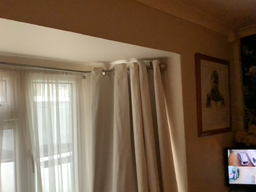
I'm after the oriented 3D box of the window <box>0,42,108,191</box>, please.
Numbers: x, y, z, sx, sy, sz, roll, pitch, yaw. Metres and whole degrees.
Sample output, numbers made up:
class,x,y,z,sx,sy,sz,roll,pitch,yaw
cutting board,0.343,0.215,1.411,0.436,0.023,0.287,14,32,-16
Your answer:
class,x,y,z,sx,sy,sz,roll,pitch,yaw
window,-0.830,0.350,1.320,1.600,1.360,0.140,0,-3,-42
